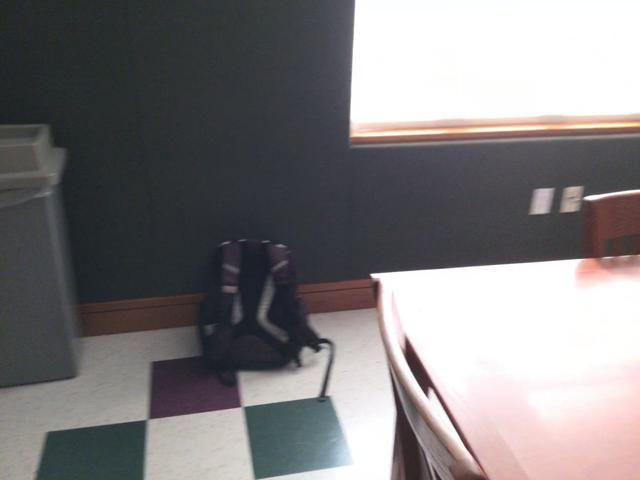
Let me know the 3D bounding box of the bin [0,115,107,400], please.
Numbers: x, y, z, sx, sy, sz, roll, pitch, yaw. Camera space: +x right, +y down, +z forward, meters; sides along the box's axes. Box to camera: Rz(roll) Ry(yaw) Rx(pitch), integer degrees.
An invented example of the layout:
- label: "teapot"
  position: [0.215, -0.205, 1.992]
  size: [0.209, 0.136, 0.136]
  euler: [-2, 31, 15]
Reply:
- label: "bin"
  position: [-1.040, 0.070, 1.870]
  size: [0.520, 0.860, 0.310]
  euler: [-5, 26, -12]

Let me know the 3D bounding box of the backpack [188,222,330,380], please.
- label: "backpack"
  position: [-0.230, 0.210, 2.130]
  size: [0.460, 0.420, 0.340]
  euler: [-5, 26, -12]
